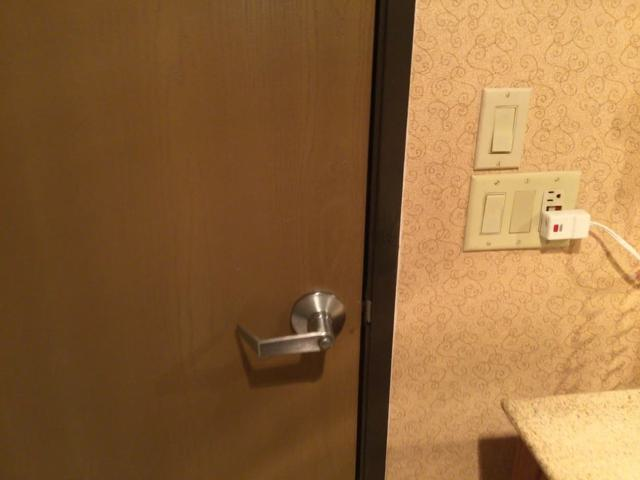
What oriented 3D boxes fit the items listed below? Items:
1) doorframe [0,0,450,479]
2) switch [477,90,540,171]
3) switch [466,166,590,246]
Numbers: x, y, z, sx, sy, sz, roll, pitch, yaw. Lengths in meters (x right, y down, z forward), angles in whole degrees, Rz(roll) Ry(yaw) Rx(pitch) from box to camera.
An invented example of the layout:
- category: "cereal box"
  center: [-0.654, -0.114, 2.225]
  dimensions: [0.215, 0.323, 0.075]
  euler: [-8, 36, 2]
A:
- category: "doorframe"
  center: [-0.300, 0.080, 0.790]
  dimensions: [0.890, 2.000, 0.050]
  euler: [-1, 21, -9]
- category: "switch"
  center: [0.260, -0.150, 0.800]
  dimensions: [0.070, 0.110, 0.010]
  euler: [-1, 21, -9]
- category: "switch"
  center: [0.300, -0.050, 0.840]
  dimensions: [0.160, 0.110, 0.030]
  euler: [-1, 21, -9]
